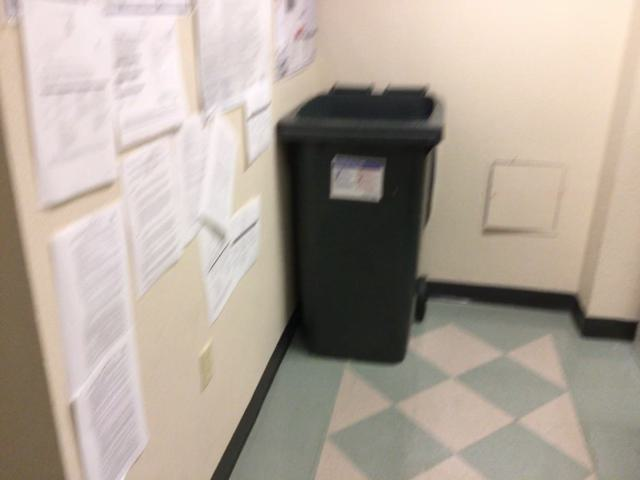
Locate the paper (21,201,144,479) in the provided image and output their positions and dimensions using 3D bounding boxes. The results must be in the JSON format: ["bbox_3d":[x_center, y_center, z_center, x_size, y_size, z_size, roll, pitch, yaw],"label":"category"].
[{"bbox_3d":[-0.390,0.230,1.000,0.020,0.550,0.230,6,22,10],"label":"paper"}]

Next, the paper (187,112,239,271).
[{"bbox_3d":[-0.260,-0.130,1.450,0.030,0.340,0.250,6,22,10],"label":"paper"}]

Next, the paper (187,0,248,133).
[{"bbox_3d":[-0.240,-0.500,1.400,0.030,0.420,0.320,6,22,10],"label":"paper"}]

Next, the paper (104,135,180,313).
[{"bbox_3d":[-0.340,-0.040,1.140,0.020,0.290,0.230,6,22,10],"label":"paper"}]

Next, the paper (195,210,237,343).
[{"bbox_3d":[-0.270,0.090,1.530,0.020,0.280,0.230,6,22,10],"label":"paper"}]

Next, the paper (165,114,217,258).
[{"bbox_3d":[-0.290,-0.130,1.330,0.020,0.280,0.220,6,22,10],"label":"paper"}]
